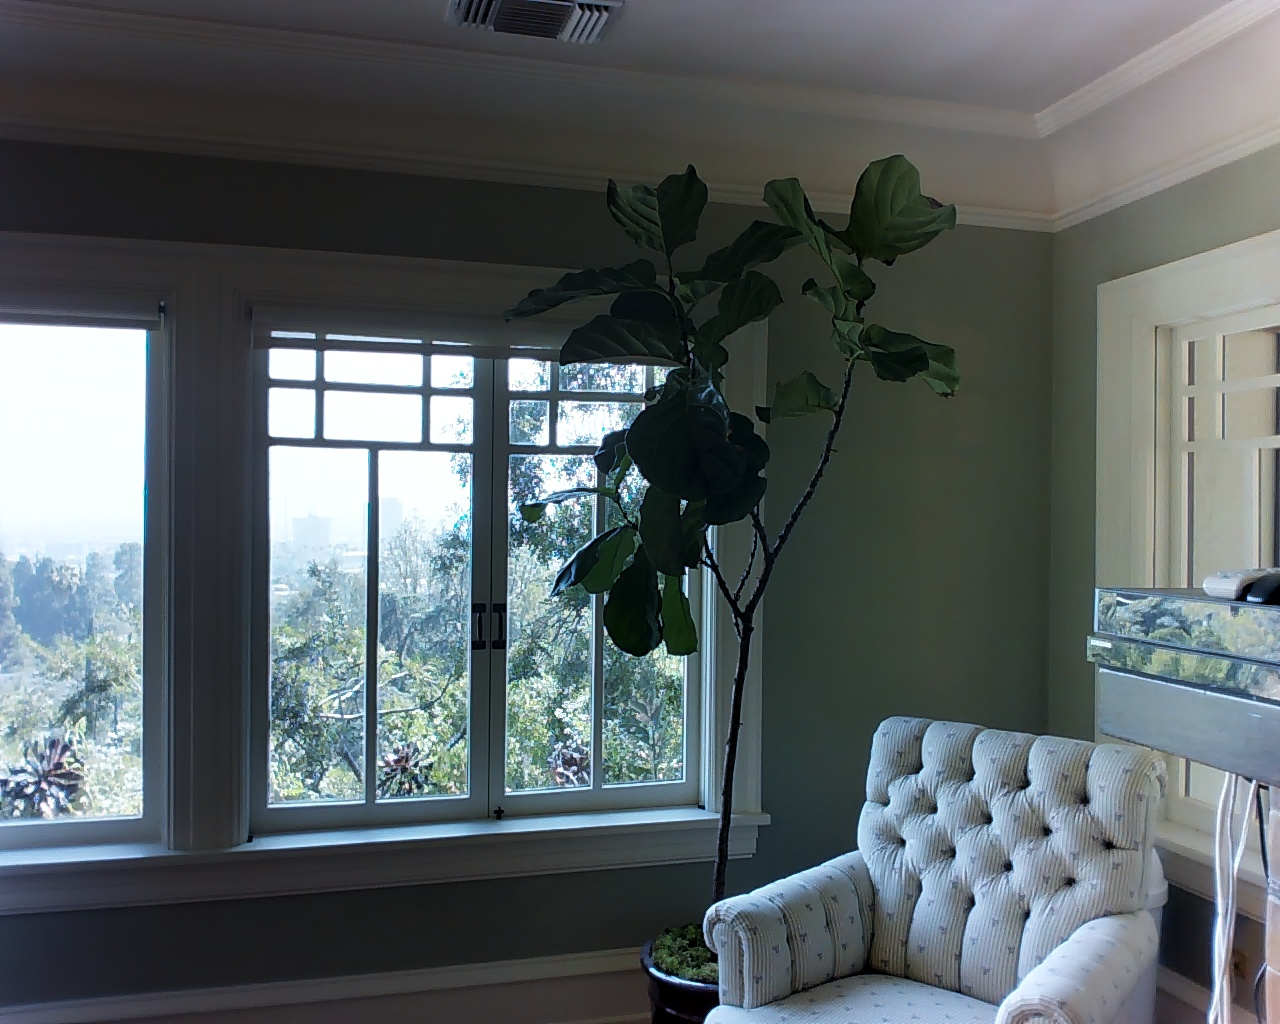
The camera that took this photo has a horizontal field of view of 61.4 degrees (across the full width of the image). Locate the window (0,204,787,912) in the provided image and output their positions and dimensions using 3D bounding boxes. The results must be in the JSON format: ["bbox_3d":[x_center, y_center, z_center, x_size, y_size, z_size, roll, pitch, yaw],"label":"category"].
[{"bbox_3d":[-2.230,0.110,2.640,5.399,1.730,0.360,0,0,-15],"label":"window"}]
